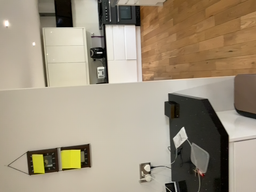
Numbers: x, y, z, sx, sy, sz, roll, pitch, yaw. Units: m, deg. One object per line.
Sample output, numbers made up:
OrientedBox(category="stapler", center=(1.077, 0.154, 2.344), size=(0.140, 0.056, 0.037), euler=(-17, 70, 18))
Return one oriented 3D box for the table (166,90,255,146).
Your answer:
OrientedBox(category="table", center=(0.810, 0.090, 1.420), size=(0.640, 0.900, 0.190), euler=(-163, 69, -76))
